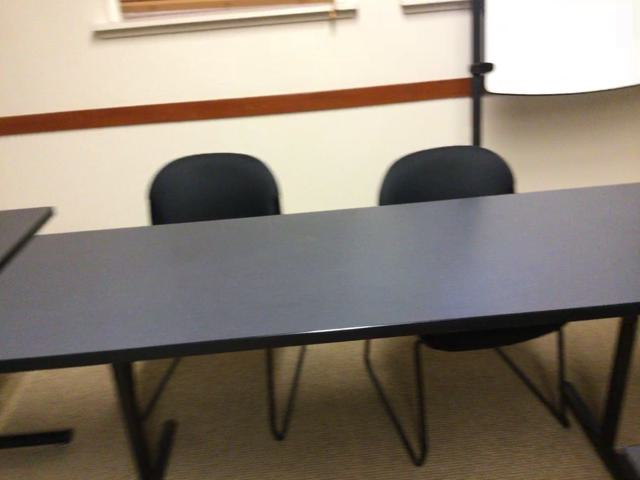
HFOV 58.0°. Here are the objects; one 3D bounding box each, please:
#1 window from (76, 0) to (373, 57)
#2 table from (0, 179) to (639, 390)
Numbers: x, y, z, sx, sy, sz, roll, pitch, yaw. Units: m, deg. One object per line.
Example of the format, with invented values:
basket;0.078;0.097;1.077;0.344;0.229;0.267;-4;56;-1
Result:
window;-0.380;-1.130;2.290;1.120;0.650;0.350;-4;24;2
table;0.090;0.060;1.350;1.790;0.080;0.670;-4;24;2
